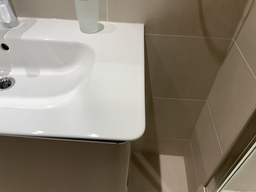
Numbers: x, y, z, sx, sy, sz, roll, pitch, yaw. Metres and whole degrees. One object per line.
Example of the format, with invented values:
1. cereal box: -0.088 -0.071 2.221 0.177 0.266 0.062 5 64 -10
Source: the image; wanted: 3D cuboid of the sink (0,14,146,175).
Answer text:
1. sink: -0.380 -0.060 0.580 0.840 0.140 0.450 4 44 0
